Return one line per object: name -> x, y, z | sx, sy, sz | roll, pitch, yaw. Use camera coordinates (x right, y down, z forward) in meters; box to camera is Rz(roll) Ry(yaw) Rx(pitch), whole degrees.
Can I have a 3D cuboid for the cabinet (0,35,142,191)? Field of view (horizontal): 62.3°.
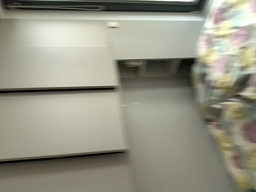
cabinet -> -0.750, 0.210, 1.310 | 0.430, 1.440, 1.390 | 98, 165, -48
